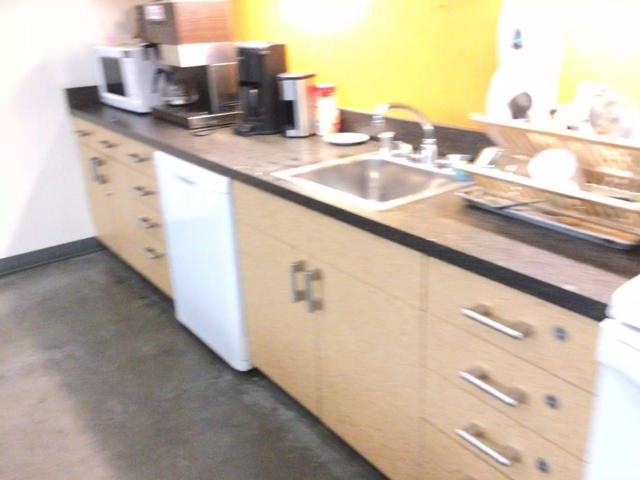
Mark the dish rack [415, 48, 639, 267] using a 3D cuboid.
[{"bbox_3d":[0.600,-0.240,1.330,0.440,0.370,0.600,-11,22,-33],"label":"dish rack"}]

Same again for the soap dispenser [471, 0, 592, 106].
[{"bbox_3d":[0.560,-0.540,1.540,0.170,0.330,0.220,-11,22,-33],"label":"soap dispenser"}]
